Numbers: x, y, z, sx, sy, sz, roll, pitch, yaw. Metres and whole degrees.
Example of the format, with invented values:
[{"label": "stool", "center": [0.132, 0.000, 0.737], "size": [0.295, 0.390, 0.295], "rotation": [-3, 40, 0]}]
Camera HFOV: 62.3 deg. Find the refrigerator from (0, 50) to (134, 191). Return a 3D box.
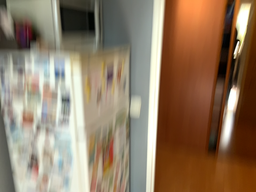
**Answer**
[{"label": "refrigerator", "center": [-0.360, 0.440, 1.440], "size": [0.600, 1.420, 0.610], "rotation": [7, 17, 21]}]
